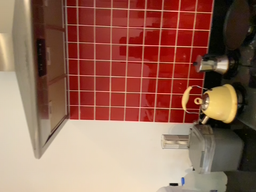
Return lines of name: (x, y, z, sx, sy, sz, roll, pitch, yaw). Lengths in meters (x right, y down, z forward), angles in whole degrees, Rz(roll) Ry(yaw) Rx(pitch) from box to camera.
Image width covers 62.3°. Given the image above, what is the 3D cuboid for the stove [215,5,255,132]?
stove: (0.620, -0.160, 1.130, 0.510, 0.020, 0.590, -99, 11, -78)
